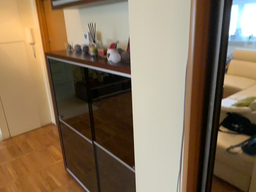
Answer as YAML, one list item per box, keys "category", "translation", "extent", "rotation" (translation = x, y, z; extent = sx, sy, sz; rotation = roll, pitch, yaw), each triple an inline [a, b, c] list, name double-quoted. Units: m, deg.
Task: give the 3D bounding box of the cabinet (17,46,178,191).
- category: "cabinet"
  translation: [-0.330, 0.300, 1.840]
  extent: [1.400, 1.320, 0.450]
  rotation: [16, 26, 41]
